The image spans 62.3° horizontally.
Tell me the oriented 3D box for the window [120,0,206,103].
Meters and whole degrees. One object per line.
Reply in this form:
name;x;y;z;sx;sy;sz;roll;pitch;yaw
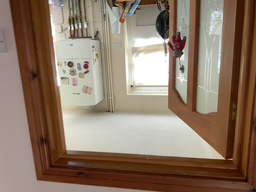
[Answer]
window;0.420;-0.580;2.600;0.940;1.300;0.260;0;-165;9
